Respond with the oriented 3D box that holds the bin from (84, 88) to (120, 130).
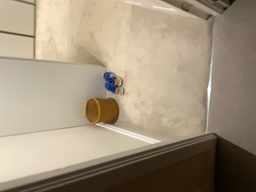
[{"bbox_3d":[-0.250,0.110,2.030,0.250,0.240,0.350,7,97,47],"label":"bin"}]
